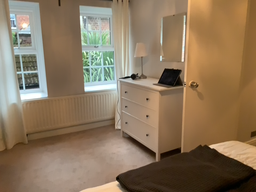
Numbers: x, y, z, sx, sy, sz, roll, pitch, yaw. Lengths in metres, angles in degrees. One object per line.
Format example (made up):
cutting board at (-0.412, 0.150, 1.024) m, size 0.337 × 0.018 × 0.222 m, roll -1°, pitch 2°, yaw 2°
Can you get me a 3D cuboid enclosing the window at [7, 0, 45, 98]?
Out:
window at (-1.690, -0.750, 3.550) m, size 0.390 × 1.550 × 0.110 m, roll -8°, pitch 15°, yaw -26°
